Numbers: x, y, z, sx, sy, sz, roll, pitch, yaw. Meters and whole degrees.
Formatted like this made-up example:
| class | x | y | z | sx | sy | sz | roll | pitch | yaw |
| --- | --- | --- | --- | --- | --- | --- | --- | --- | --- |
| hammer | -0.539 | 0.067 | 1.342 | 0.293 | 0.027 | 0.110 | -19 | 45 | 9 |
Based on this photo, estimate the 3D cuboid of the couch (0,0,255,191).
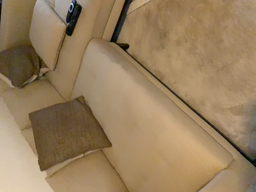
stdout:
| class | x | y | z | sx | sy | sz | roll | pitch | yaw |
| --- | --- | --- | --- | --- | --- | --- | --- | --- | --- |
| couch | -0.340 | 0.050 | 1.620 | 2.200 | 0.760 | 0.920 | 45 | 126 | 27 |
